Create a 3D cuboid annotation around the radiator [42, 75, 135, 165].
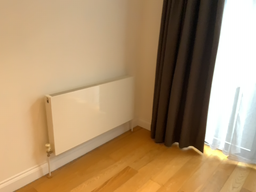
[{"bbox_3d":[-0.360,0.200,2.460,0.150,0.660,1.210,16,24,36],"label":"radiator"}]
